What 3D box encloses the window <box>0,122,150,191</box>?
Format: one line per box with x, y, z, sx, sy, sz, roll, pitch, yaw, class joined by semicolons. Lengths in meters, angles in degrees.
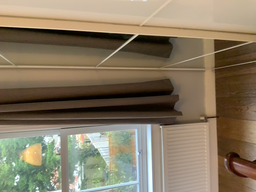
-0.470;0.870;1.830;0.070;1.410;1.190;180;89;-71;window
